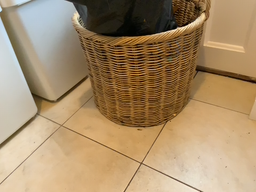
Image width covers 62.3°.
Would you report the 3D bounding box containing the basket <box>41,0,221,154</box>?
[{"bbox_3d":[0.060,-0.170,0.920,0.450,0.410,0.550,20,47,28],"label":"basket"}]
